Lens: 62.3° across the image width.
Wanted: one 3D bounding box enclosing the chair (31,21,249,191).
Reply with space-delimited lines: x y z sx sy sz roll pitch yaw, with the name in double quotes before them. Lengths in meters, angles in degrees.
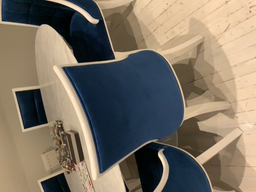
"chair" 0.060 0.010 1.150 0.590 0.900 0.510 -24 85 56
